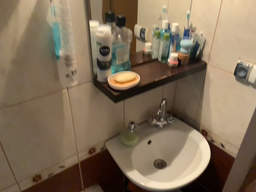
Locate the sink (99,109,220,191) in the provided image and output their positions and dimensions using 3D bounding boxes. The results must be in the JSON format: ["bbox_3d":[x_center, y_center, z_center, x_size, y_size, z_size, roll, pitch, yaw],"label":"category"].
[{"bbox_3d":[0.150,0.300,1.050,0.460,0.180,0.340,-22,39,-31],"label":"sink"}]

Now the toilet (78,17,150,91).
[{"bbox_3d":[-0.050,-0.170,0.810,0.200,0.200,0.160,-23,40,-32],"label":"toilet"}]

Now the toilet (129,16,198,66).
[{"bbox_3d":[0.160,-0.270,1.000,0.220,0.140,0.210,-23,40,-33],"label":"toilet"}]
